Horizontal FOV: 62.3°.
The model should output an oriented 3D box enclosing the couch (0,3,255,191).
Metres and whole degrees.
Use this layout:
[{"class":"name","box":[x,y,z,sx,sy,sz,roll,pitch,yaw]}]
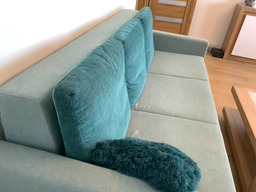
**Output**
[{"class":"couch","box":[0.230,-0.090,1.750,1.110,0.830,2.350,13,32,8]}]
